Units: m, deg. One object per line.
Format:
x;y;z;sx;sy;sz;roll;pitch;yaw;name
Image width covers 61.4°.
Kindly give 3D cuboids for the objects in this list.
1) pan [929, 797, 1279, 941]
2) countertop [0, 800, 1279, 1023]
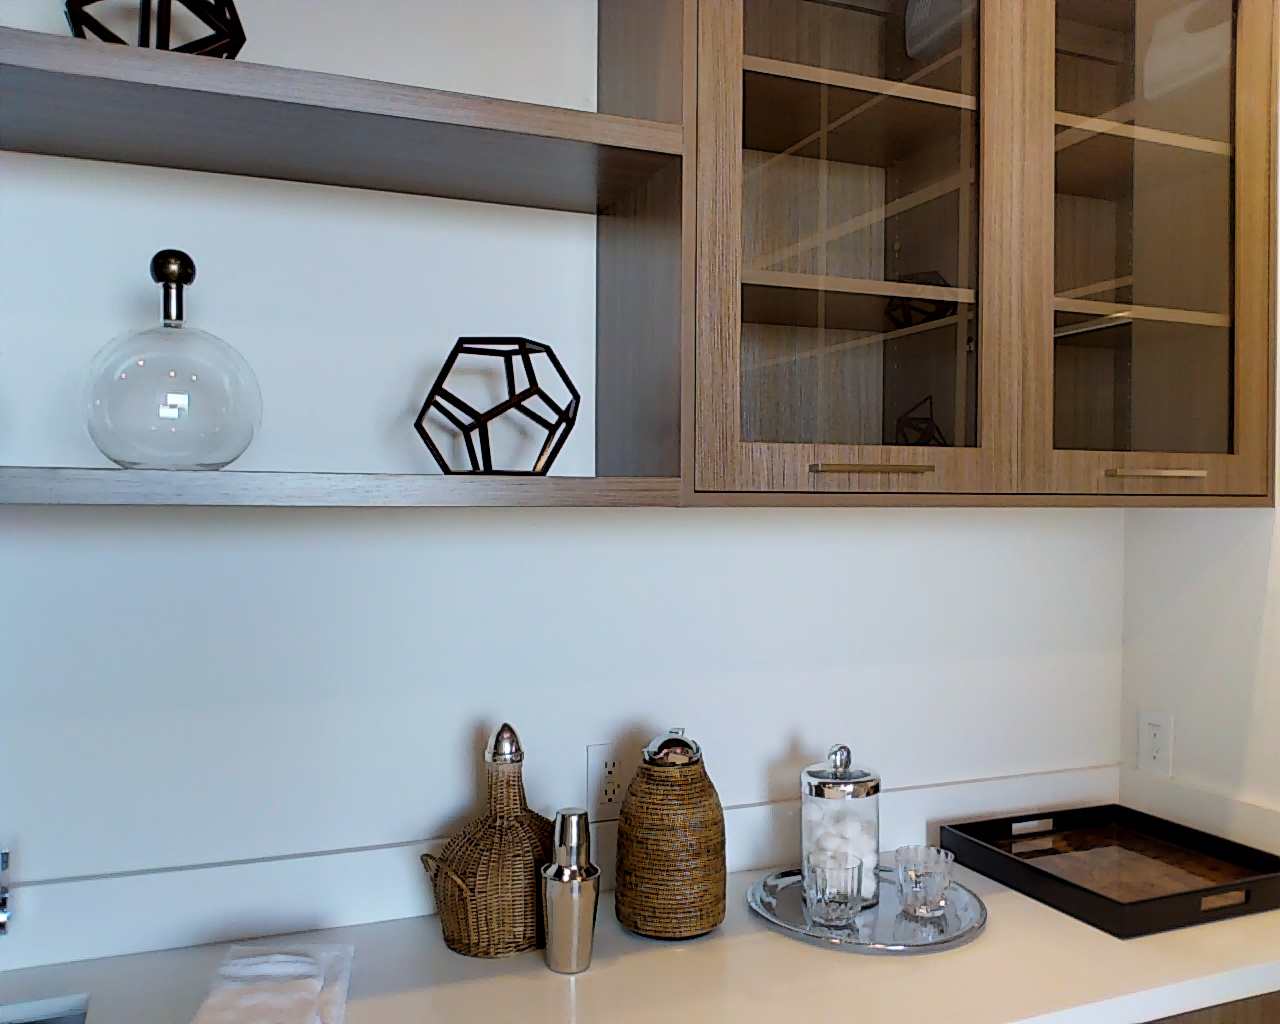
0.810;0.570;1.780;0.470;0.040;0.440;0;1;-22;pan
-0.010;0.590;1.380;2.330;0.050;0.610;0;1;-22;countertop
